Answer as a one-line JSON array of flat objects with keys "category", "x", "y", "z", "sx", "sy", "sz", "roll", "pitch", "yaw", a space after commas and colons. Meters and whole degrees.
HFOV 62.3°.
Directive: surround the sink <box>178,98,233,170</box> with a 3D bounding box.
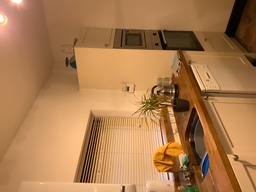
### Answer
[{"category": "sink", "x": 0.620, "y": 0.320, "z": 1.790, "sx": 0.370, "sy": 0.230, "sz": 0.470, "roll": -90, "pitch": 3, "yaw": -53}]
